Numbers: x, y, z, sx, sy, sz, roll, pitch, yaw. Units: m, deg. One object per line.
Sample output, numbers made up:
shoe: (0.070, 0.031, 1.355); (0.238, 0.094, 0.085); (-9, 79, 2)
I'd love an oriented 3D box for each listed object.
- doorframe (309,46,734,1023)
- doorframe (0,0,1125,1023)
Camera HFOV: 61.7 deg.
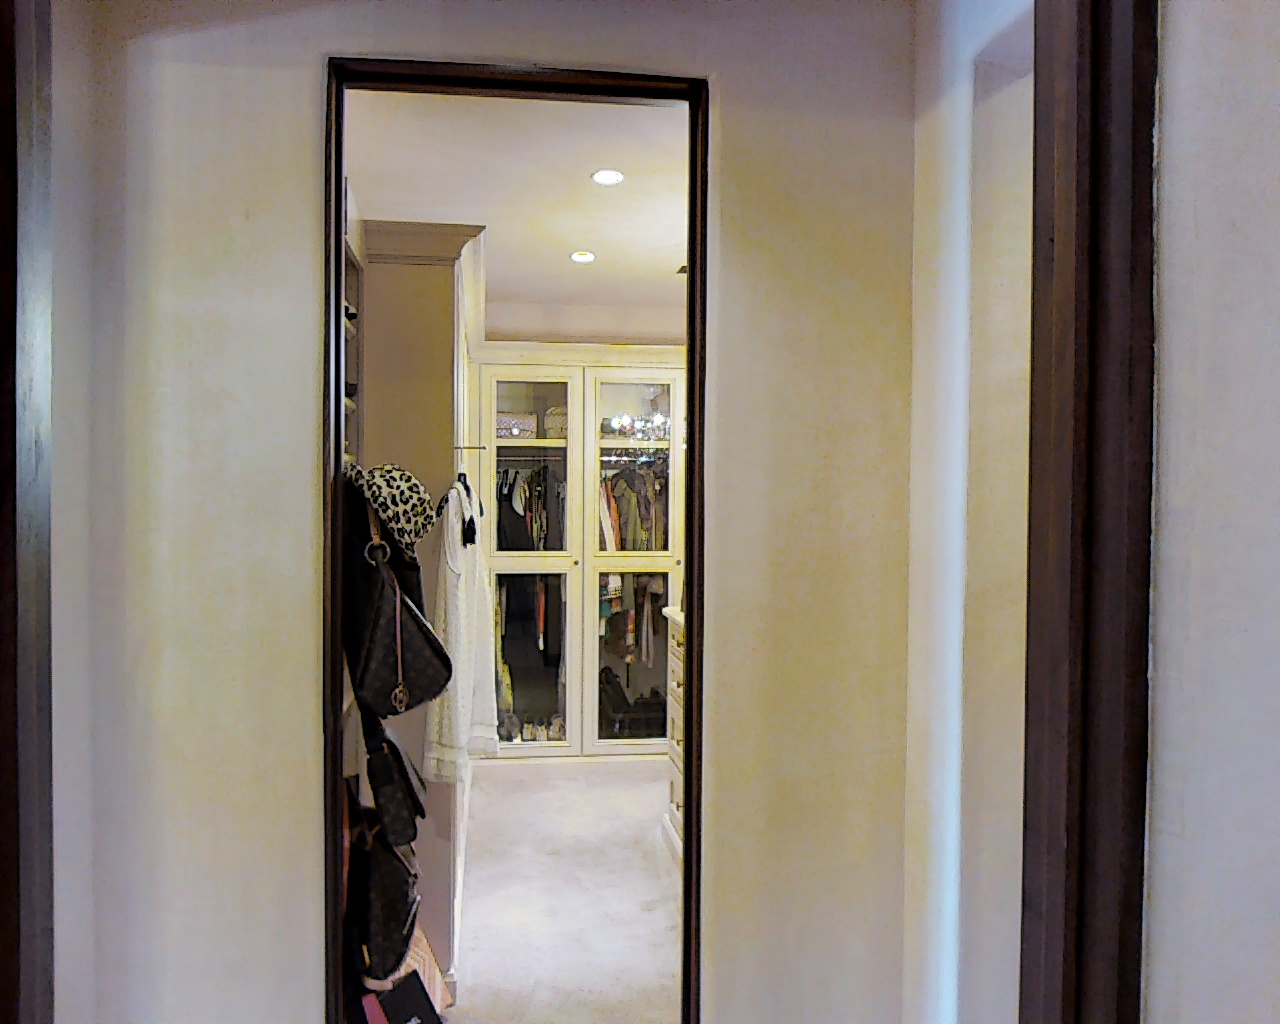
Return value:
doorframe: (-0.240, 0.320, 2.220); (0.830, 2.430, 0.180); (0, 1, -7)
doorframe: (-0.050, 0.350, 0.830); (0.830, 2.440, 0.100); (0, 1, -8)
